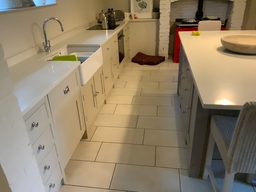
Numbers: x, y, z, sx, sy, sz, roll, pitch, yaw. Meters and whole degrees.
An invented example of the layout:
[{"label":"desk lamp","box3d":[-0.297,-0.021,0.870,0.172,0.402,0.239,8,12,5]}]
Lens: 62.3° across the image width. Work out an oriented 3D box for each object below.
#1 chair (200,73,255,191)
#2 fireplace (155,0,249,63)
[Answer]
[{"label":"chair","box3d":[0.780,0.400,1.380,0.420,0.980,0.470,2,27,9]},{"label":"fireplace","box3d":[1.510,-1.630,4.690,1.730,1.540,0.840,3,27,11]}]
